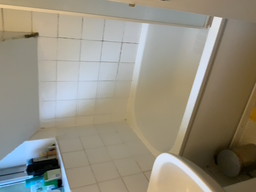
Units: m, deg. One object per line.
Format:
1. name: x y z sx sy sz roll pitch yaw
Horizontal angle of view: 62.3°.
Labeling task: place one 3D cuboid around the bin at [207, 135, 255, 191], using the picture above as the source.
1. bin: 0.730 0.440 1.410 0.210 0.260 0.240 45 132 52

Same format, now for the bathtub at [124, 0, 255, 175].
1. bathtub: 0.490 -0.390 1.440 0.700 0.560 1.630 44 131 52

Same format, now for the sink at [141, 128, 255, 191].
1. sink: 0.320 0.490 0.900 0.580 0.220 0.430 45 132 52
